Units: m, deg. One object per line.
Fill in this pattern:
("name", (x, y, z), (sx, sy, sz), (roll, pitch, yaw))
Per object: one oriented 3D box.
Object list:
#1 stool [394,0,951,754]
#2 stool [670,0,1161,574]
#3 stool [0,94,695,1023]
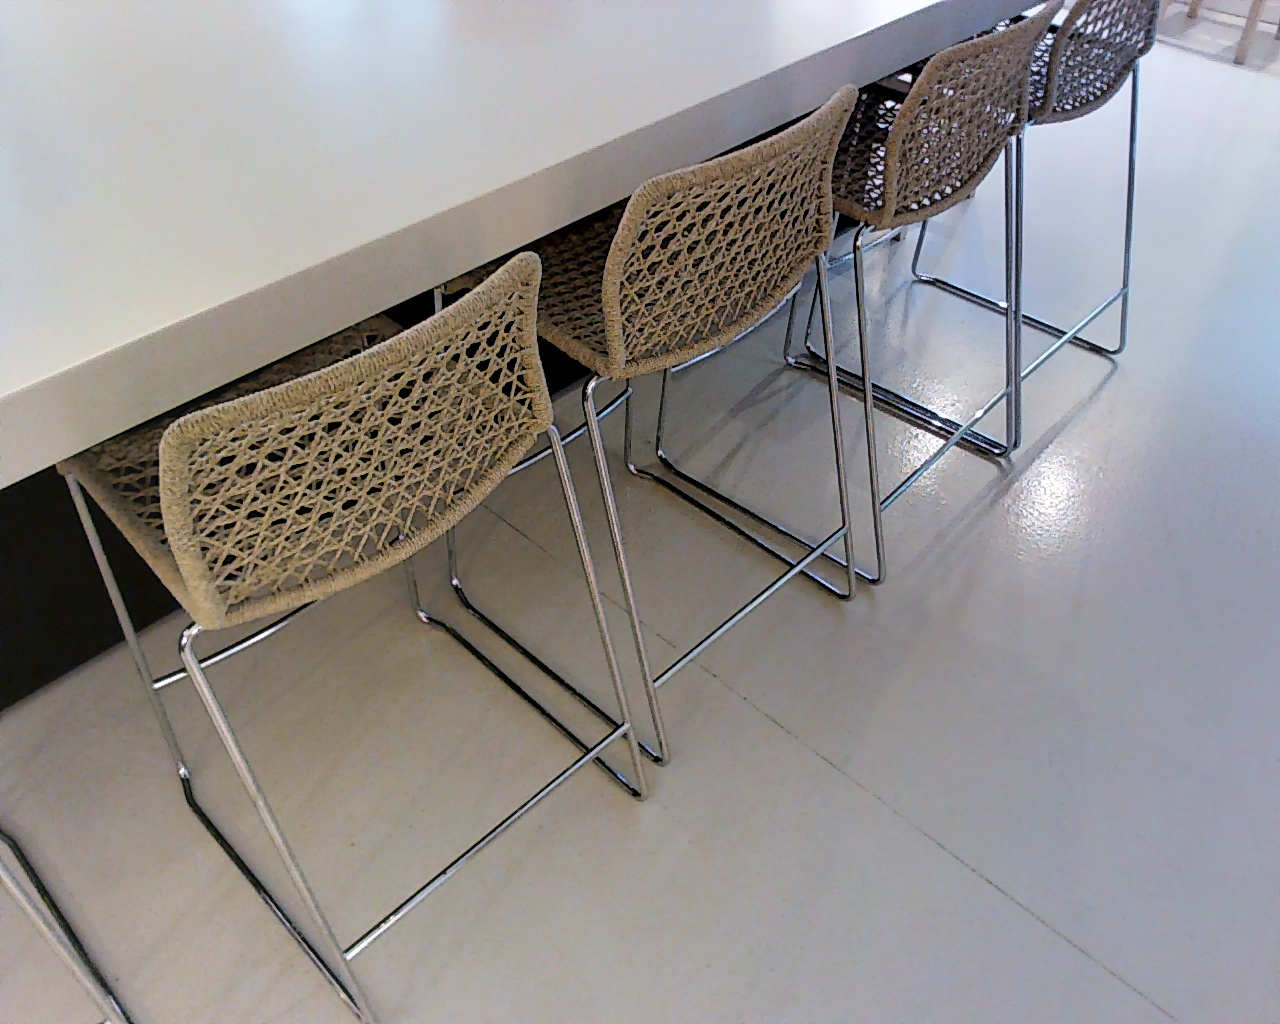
("stool", (0.050, -0.200, 1.670), (0.470, 0.950, 0.530), (30, 50, 29))
("stool", (0.440, -0.490, 1.950), (0.540, 0.950, 0.530), (31, 51, 30))
("stool", (-0.350, 0.090, 1.370), (0.570, 0.930, 0.580), (31, 51, 30))
